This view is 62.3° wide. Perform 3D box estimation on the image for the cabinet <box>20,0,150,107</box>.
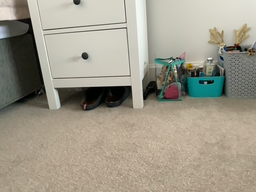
[{"bbox_3d":[-0.160,-0.320,1.080,0.480,0.640,0.430,0,18,12],"label":"cabinet"}]
